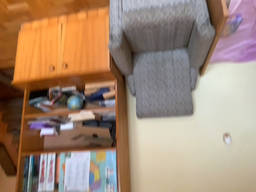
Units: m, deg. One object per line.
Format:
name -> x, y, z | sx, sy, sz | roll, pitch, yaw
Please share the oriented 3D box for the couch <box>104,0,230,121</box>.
couch -> 0.280, -0.350, 1.860 | 0.770, 0.940, 0.810 | -6, 162, 8
